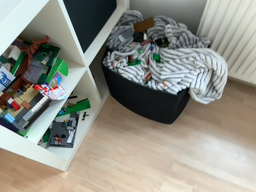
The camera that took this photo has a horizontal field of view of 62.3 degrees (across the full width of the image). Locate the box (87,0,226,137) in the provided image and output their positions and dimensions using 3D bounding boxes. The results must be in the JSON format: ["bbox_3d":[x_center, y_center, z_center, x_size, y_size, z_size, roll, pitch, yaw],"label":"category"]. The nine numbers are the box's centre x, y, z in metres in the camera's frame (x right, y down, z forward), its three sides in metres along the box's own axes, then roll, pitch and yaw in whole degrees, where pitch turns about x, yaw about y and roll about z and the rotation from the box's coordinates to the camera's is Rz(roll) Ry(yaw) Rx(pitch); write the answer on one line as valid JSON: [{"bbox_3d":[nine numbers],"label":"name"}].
[{"bbox_3d":[0.140,-0.130,1.070,0.470,0.380,0.440,19,67,11],"label":"box"}]
